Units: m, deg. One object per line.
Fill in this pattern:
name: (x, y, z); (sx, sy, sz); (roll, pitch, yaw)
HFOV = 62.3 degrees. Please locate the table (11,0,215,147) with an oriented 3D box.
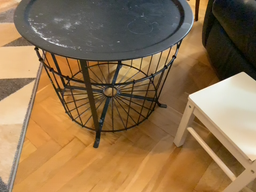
table: (-0.060, -0.160, 0.910); (0.530, 0.470, 0.550); (-2, 48, -5)

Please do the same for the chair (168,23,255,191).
chair: (0.390, 0.070, 0.710); (0.300, 0.500, 0.300); (-22, 52, -21)
